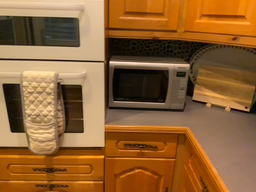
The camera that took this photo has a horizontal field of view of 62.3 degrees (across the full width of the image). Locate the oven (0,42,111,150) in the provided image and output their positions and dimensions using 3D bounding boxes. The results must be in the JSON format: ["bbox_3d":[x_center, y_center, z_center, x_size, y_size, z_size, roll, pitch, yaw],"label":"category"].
[{"bbox_3d":[-0.420,-0.050,1.330,0.580,0.470,0.610,2,20,-2],"label":"oven"}]

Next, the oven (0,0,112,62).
[{"bbox_3d":[-0.400,-0.460,1.180,0.580,0.400,0.610,2,20,-2],"label":"oven"}]

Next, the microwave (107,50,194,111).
[{"bbox_3d":[0.120,-0.120,1.400,0.480,0.280,0.380,2,20,-1],"label":"microwave"}]
